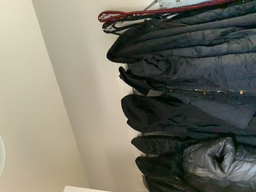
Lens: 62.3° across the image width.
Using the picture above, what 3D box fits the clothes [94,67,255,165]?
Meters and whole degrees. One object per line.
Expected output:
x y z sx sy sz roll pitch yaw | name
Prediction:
0.350 0.090 1.110 0.340 0.940 0.340 -50 -47 -58 | clothes
